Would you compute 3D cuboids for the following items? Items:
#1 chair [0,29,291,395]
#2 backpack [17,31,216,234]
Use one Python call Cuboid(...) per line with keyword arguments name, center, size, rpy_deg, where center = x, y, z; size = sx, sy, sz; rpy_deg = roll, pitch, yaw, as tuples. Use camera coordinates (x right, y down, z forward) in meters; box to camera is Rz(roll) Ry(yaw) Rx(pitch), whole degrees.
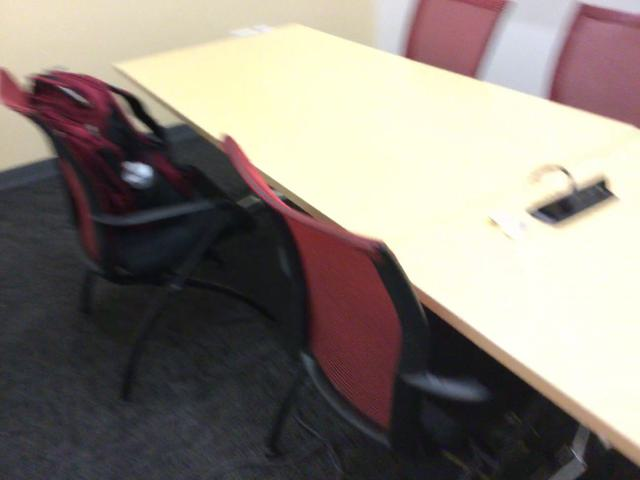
Cuboid(name="chair", center=(-0.490, -0.120, 1.680), size=(0.520, 0.780, 0.590), rpy_deg=(-20, 34, -22))
Cuboid(name="backpack", center=(-0.580, -0.330, 1.650), size=(0.370, 0.390, 0.430), rpy_deg=(-20, 34, -22))
